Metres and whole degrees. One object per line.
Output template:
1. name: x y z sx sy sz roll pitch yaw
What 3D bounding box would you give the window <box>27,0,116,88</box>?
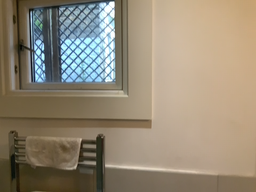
1. window: -0.390 -0.340 1.460 0.610 0.560 0.070 1 4 10
